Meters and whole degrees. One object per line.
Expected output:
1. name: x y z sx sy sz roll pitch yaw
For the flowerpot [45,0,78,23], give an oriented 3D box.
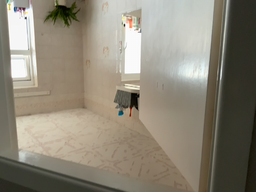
1. flowerpot: -0.810 -1.070 2.580 0.320 0.290 0.210 -8 -165 -42
